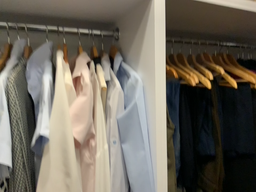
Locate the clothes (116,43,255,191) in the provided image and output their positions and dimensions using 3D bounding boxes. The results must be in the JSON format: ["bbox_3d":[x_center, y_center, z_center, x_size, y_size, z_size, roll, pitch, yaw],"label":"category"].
[{"bbox_3d":[0.410,0.220,1.160,0.770,0.840,0.610,-2,2,-23],"label":"clothes"}]
